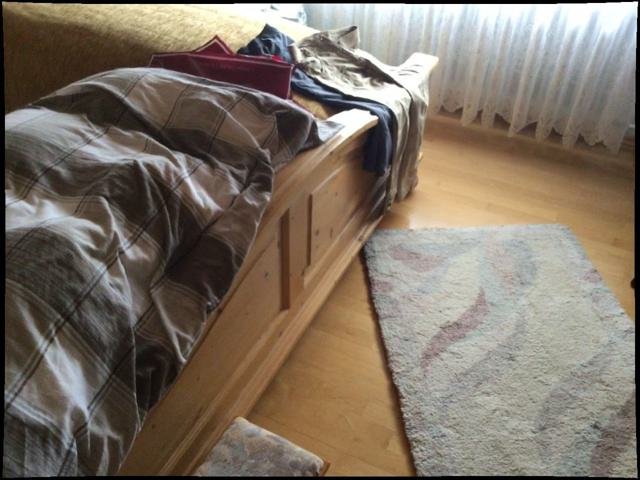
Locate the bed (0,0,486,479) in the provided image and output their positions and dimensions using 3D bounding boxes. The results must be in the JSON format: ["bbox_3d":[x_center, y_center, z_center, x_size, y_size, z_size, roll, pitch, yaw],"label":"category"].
[{"bbox_3d":[-0.919,-0.260,1.890,2.238,0.790,2.260,19,44,19],"label":"bed"}]

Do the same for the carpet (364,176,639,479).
[{"bbox_3d":[0.629,0.330,1.680,0.829,0.140,1.561,-2,41,-2],"label":"carpet"}]
